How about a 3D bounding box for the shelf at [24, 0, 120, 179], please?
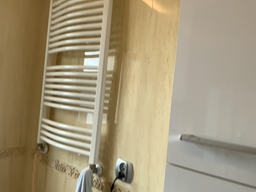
[{"bbox_3d":[-0.350,-0.090,1.220,0.580,0.920,0.140,5,-1,40],"label":"shelf"}]
